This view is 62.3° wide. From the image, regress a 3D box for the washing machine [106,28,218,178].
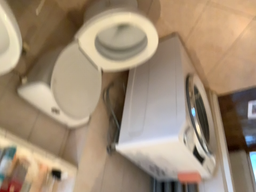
[{"bbox_3d":[0.280,0.080,1.580,0.470,0.820,0.640,-17,137,28],"label":"washing machine"}]
